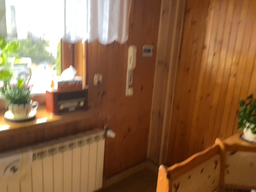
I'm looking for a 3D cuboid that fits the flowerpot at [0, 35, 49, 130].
[{"bbox_3d":[-0.800,-0.130,1.540,0.290,0.590,0.420,-7,19,-39],"label":"flowerpot"}]
